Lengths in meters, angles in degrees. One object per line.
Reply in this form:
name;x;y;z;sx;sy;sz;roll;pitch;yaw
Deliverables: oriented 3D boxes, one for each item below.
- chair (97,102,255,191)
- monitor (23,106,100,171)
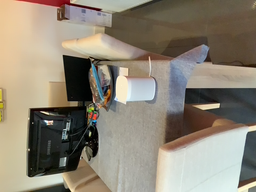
chair;0.390;0.290;1.170;0.520;0.970;0.390;18;106;57
monitor;-0.530;0.360;1.700;0.040;0.460;0.560;46;119;52
